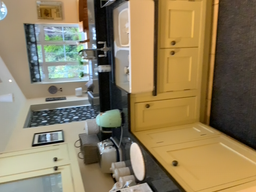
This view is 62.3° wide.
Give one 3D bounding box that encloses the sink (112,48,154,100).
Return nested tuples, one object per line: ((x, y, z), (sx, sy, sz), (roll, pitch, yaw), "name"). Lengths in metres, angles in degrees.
((0.030, -0.240, 2.050), (0.520, 0.220, 0.430), (-147, 53, -66), "sink")

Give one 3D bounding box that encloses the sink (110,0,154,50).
((0.020, -0.650, 1.950), (0.530, 0.220, 0.420), (-147, 53, -66), "sink")
